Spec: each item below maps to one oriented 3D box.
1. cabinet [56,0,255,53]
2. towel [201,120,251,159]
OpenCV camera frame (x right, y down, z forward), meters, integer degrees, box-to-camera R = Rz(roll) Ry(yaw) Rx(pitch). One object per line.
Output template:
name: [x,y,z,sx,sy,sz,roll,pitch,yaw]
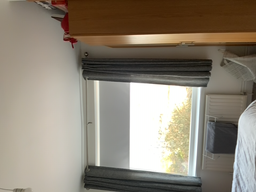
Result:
cabinet: [0.580,-0.680,2.280,1.520,2.100,0.320,-45,-42,-77]
towel: [1.360,0.610,2.980,0.140,0.570,0.470,-44,-43,-77]
